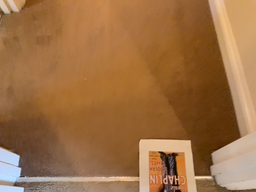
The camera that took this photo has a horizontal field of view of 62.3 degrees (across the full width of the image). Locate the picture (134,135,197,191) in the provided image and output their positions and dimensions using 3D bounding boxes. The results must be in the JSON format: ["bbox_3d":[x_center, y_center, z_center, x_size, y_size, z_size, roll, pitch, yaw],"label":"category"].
[{"bbox_3d":[0.140,0.300,0.810,0.230,0.020,0.300,2,65,-1],"label":"picture"}]
